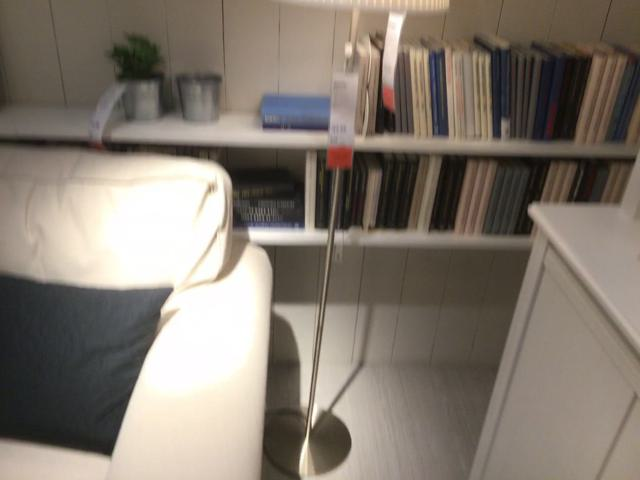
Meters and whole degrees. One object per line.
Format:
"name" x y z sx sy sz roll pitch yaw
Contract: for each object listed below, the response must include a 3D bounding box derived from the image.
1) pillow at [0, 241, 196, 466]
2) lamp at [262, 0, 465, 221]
"pillow" -0.630 0.210 1.170 0.690 0.280 0.340 3 28 -4
"lamp" 0.070 -0.430 1.110 0.320 0.700 0.320 3 28 -4
